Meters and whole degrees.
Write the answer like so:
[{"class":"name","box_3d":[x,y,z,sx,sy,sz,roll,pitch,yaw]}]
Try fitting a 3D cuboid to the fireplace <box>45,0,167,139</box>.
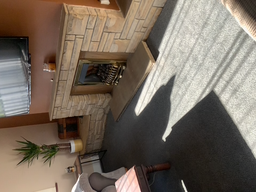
[{"class":"fireplace","box_3d":[-0.440,-0.190,2.560,1.790,0.870,0.600,-58,45,48]}]
